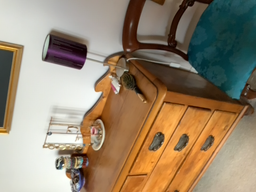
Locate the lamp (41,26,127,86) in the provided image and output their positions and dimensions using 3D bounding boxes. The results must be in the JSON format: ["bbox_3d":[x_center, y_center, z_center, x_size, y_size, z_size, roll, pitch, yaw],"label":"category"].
[{"bbox_3d":[-0.230,-0.200,1.100,0.180,0.370,0.180,51,125,51],"label":"lamp"}]

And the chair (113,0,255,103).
[{"bbox_3d":[0.460,-0.330,1.160,0.540,0.830,0.510,43,119,54],"label":"chair"}]
